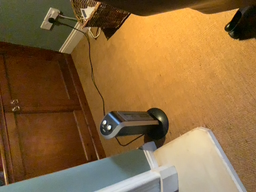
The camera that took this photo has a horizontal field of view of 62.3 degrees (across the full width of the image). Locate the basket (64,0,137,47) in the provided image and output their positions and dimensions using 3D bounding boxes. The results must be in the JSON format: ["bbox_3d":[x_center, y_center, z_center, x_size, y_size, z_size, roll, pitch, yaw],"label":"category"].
[{"bbox_3d":[-0.240,-0.700,1.730,0.440,0.320,0.340,-41,63,36],"label":"basket"}]
